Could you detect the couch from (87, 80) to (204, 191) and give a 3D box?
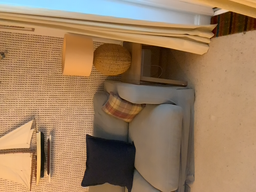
[{"bbox_3d":[0.060,0.810,2.330,1.070,0.770,1.890,-164,76,-66],"label":"couch"}]

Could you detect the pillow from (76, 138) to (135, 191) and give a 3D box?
[{"bbox_3d":[-0.240,0.800,2.370,0.350,0.560,0.540,-25,-62,-80],"label":"pillow"}]
